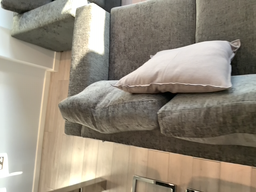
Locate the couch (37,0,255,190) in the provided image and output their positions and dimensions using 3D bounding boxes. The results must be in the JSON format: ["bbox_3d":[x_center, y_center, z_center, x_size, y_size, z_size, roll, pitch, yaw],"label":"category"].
[{"bbox_3d":[0.370,-0.180,1.270,1.670,0.830,1.040,1,84,35],"label":"couch"}]
